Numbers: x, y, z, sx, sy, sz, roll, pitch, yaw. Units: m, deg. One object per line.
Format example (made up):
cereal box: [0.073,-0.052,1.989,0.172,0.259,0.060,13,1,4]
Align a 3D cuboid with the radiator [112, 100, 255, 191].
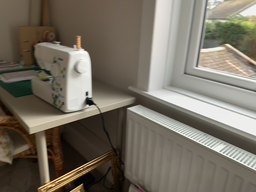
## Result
radiator: [0.370,0.490,0.940,0.230,0.610,1.090,-15,27,-41]
